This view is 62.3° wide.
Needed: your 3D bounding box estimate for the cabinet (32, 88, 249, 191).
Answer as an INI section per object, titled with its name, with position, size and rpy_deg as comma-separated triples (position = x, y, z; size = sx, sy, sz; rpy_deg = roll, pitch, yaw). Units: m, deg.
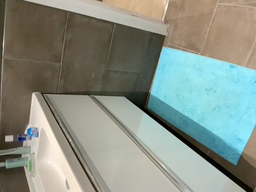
[cabinet]
position = -0.070, 0.370, 1.150
size = 1.010, 0.610, 0.460
rpy_deg = 37, 118, 48
